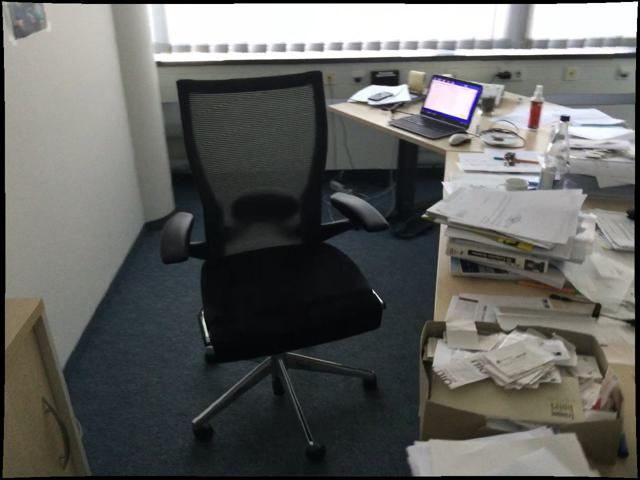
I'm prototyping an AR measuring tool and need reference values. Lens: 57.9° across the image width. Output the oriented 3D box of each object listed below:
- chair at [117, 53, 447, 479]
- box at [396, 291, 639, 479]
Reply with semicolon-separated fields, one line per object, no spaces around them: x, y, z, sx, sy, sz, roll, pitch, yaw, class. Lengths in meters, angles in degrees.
-0.140;0.060;1.810;0.739;1.071;0.660;-10;30;-15;chair
0.340;0.250;1.010;0.360;0.140;0.340;-2;29;-1;box
